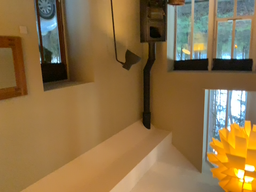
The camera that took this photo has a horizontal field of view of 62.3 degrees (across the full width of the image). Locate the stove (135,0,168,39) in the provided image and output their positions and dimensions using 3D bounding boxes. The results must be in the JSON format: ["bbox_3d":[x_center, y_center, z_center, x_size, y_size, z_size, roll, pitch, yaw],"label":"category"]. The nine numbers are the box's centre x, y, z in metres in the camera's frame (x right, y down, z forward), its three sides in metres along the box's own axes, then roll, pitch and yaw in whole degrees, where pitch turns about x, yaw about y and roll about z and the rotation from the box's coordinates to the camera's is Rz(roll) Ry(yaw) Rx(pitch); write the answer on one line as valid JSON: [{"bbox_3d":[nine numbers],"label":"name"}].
[{"bbox_3d":[0.490,-1.770,4.480,0.550,1.080,0.450,-5,-168,-14],"label":"stove"}]
